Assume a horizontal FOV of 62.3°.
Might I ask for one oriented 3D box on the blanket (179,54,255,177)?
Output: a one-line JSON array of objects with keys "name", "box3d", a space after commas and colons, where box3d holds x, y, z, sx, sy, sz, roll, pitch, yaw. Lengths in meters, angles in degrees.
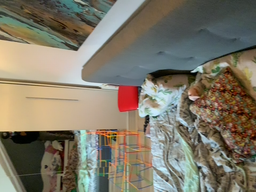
[{"name": "blanket", "box3d": [0.570, 0.120, 1.250, 0.580, 0.170, 0.580, -15, 74, 62]}]
